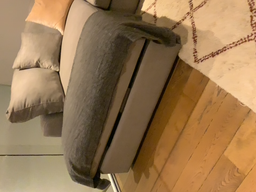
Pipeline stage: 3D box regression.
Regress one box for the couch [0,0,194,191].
[{"bbox_3d":[-0.350,-0.050,1.580,0.800,0.920,1.200,53,129,52],"label":"couch"}]
